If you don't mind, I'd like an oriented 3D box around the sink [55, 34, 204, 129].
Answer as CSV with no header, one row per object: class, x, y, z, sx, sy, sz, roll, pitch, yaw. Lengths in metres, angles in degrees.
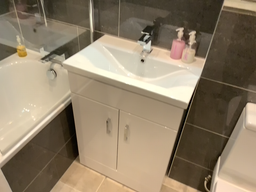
sink,0.020,-0.120,1.110,0.650,0.140,0.390,19,41,17
